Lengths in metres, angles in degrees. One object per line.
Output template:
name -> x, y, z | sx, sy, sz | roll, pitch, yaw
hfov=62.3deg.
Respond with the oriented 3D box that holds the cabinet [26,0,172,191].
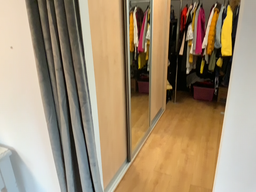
cabinet -> 0.000, -0.540, 2.400 | 0.460, 2.420, 2.230 | 8, 23, 22
